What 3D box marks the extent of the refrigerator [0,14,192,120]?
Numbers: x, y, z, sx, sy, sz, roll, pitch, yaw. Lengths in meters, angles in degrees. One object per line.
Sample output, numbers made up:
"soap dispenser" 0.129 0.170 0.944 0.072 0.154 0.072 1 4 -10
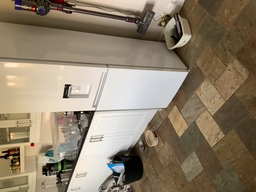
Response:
"refrigerator" -0.350 -0.250 2.110 0.560 1.790 0.670 -64 38 41
